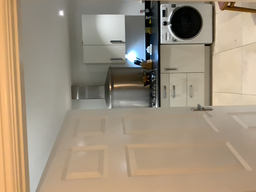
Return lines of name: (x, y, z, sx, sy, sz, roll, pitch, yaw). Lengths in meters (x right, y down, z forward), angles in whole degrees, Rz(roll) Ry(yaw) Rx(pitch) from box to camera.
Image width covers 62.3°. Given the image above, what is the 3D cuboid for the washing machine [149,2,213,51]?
washing machine: (0.860, -1.150, 3.640, 0.730, 0.880, 0.620, -147, 56, -85)
